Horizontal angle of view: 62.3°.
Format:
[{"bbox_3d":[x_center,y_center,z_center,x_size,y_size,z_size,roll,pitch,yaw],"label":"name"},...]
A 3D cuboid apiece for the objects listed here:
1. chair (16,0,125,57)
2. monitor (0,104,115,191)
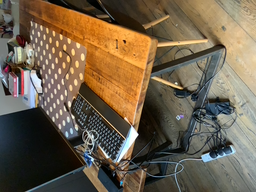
[{"bbox_3d":[-0.520,-0.680,1.920,0.470,0.780,0.520,35,121,41],"label":"chair"},{"bbox_3d":[-0.400,0.200,1.030,0.520,0.470,0.040,37,122,44],"label":"monitor"}]
